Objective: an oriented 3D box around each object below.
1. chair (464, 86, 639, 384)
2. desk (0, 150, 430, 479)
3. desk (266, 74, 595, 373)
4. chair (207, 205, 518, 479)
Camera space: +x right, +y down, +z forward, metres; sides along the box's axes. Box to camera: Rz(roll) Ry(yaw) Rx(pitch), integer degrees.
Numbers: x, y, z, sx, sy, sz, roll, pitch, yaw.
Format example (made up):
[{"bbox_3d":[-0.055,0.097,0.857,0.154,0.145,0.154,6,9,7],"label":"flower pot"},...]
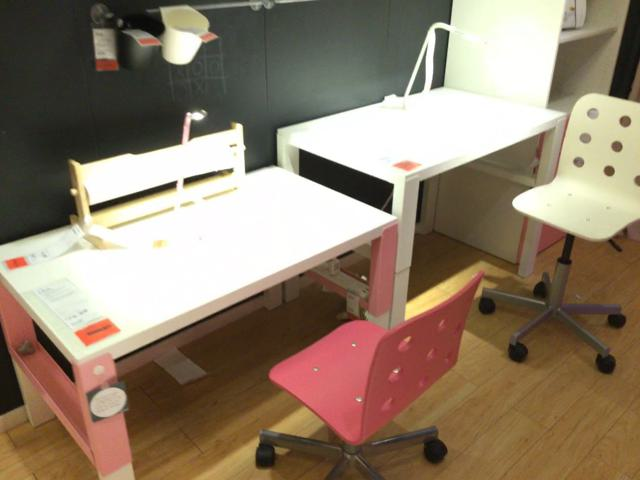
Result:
[{"bbox_3d":[0.860,-0.050,1.980,0.380,0.830,0.530,-20,30,-35],"label":"chair"},{"bbox_3d":[-0.300,0.230,1.690,1.090,0.680,0.630,-20,30,-35],"label":"desk"},{"bbox_3d":[0.430,-0.160,2.250,1.050,0.770,0.640,-20,30,-35],"label":"desk"},{"bbox_3d":[0.090,0.360,1.440,0.460,0.690,0.530,-20,30,-35],"label":"chair"}]
